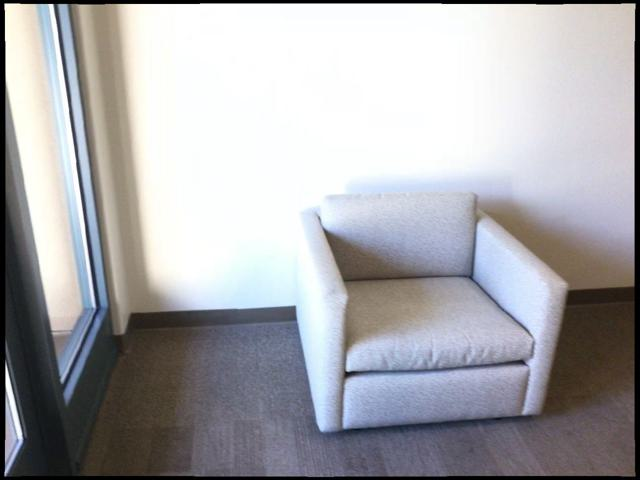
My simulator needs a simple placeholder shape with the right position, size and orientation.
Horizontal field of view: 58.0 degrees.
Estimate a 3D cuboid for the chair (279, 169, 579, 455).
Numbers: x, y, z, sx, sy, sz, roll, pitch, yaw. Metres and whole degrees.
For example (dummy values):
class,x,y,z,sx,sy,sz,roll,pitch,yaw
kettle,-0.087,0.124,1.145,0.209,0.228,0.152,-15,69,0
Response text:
class,x,y,z,sx,sy,sz,roll,pitch,yaw
chair,0.319,0.220,2.400,0.898,0.741,0.940,-2,26,-9
